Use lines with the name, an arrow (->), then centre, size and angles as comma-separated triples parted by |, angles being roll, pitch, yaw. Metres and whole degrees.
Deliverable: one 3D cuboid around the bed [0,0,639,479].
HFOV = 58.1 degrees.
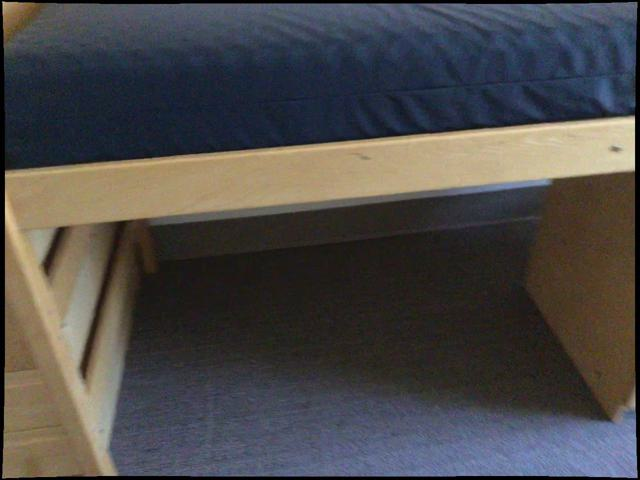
bed -> 0.449, -0.180, 1.600 | 2.254, 1.122, 1.131 | -7, 35, -3
